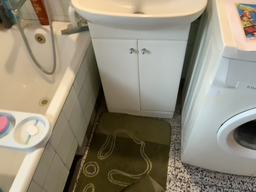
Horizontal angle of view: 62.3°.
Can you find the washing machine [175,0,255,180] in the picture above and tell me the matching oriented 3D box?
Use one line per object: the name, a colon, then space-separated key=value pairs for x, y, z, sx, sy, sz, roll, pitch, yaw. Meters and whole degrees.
washing machine: x=0.620 y=-0.060 z=1.070 sx=0.620 sy=0.850 sz=0.660 roll=6 pitch=53 yaw=6
